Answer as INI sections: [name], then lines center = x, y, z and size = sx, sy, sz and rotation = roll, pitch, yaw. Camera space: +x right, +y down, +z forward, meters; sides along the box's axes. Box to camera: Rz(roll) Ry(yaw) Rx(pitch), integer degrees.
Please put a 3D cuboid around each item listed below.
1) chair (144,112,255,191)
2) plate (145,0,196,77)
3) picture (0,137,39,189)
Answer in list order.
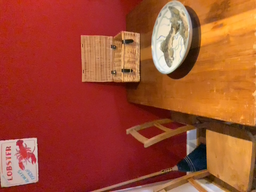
[chair]
center = 0.560, 0.370, 1.250
size = 0.360, 0.850, 0.440
rotation = -165, 74, -67
[plate]
center = 0.210, -0.290, 1.130
size = 0.330, 0.090, 0.370
rotation = -166, 76, -68
[picture]
center = -0.800, 0.490, 1.560
size = 0.010, 0.260, 0.350
rotation = -163, 73, -67
